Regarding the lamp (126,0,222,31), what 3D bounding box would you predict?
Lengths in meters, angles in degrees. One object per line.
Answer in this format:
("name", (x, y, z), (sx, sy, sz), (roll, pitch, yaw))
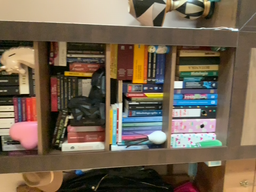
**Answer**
("lamp", (0.260, -0.610, 1.320), (0.360, 0.490, 0.320), (-141, 52, -77))
